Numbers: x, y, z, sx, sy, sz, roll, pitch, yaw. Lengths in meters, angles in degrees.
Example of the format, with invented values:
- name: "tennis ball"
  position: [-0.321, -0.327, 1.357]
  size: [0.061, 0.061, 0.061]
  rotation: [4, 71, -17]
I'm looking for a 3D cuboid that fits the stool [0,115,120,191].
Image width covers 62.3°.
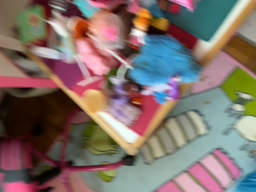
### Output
- name: "stool"
  position: [-0.370, 0.370, 0.890]
  size: [0.350, 0.550, 0.370]
  rotation: [41, 104, 14]
